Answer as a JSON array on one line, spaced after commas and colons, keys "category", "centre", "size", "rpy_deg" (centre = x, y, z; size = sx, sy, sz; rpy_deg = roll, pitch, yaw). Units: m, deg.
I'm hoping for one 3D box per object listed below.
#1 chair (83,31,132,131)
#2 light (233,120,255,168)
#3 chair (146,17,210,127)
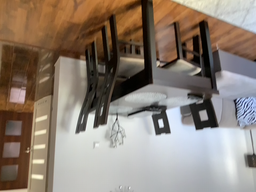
[{"category": "chair", "centre": [-0.250, -0.140, 2.470], "size": [0.420, 1.040, 0.400], "rpy_deg": [7, 163, -29]}, {"category": "light", "centre": [2.210, 0.890, 3.970], "size": [0.270, 0.830, 0.310], "rpy_deg": [-12, 162, 34]}, {"category": "chair", "centre": [0.500, -0.220, 2.240], "size": [0.440, 1.040, 0.360], "rpy_deg": [7, 163, -30]}]
